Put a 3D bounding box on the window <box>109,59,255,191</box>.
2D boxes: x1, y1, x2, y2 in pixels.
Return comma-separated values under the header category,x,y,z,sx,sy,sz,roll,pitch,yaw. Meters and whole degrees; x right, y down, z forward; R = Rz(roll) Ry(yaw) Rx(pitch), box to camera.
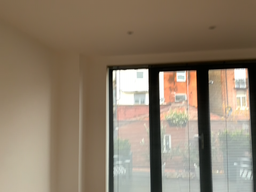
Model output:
category,x,y,z,sx,sy,sz,roll,pitch,yaw
window,1.100,0.560,3.010,2.780,2.090,0.140,-1,-3,9
